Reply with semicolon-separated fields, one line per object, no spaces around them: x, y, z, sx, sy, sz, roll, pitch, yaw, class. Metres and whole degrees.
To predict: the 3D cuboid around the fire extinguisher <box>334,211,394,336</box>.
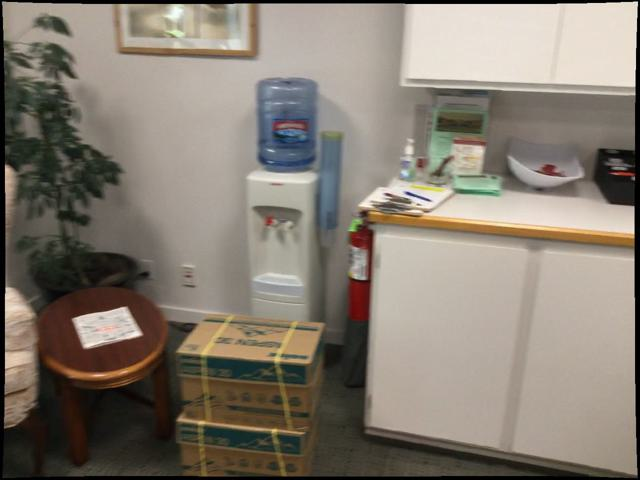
0.160;0.120;2.110;0.170;0.400;0.170;7;24;14;fire extinguisher

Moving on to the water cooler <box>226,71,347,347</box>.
-0.130;-0.140;2.600;0.390;1.141;0.400;7;24;14;water cooler

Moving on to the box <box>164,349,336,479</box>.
-0.240;0.671;2.160;0.510;0.270;0.400;7;24;14;box

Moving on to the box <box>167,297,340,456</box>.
-0.220;0.470;2.090;0.500;0.330;0.370;7;24;14;box
